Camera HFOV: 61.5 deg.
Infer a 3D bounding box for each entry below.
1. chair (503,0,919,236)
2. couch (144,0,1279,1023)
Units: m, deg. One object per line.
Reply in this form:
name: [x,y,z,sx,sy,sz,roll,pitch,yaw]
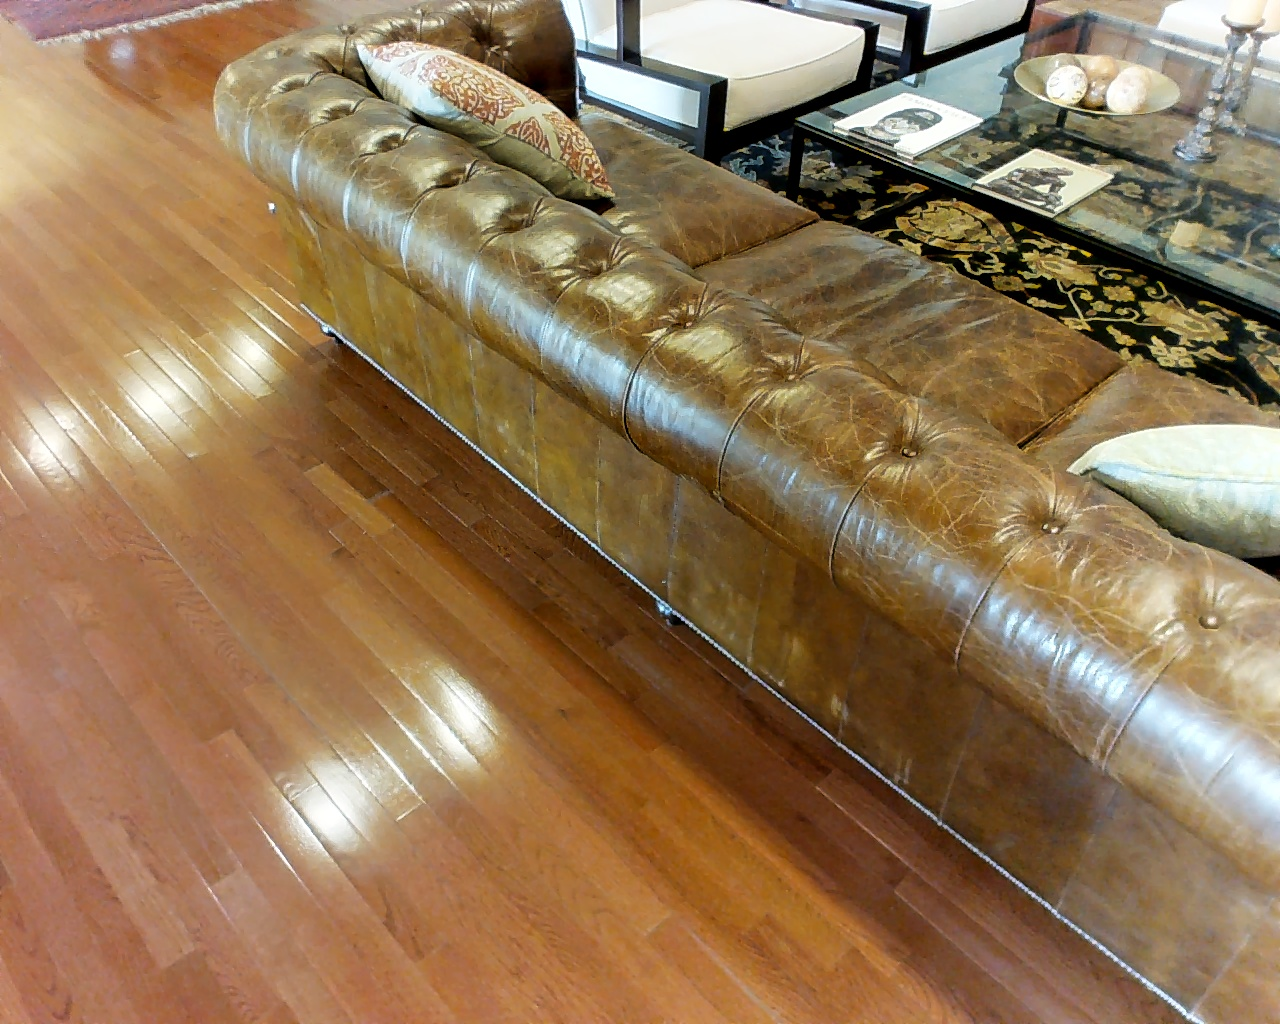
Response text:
chair: [0.220,-1.640,3.500,0.890,0.920,1.010,-32,51,-31]
couch: [0.320,-0.270,2.070,1.080,0.820,3.020,-31,50,-30]
